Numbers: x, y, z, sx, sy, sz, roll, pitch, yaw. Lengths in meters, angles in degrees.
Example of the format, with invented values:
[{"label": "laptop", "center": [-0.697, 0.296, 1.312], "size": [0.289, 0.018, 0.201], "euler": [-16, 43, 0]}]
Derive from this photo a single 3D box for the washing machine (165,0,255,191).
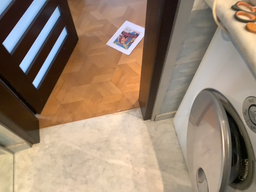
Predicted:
[{"label": "washing machine", "center": [0.490, 0.160, 0.840], "size": [0.400, 0.890, 0.580], "euler": [-10, 62, -5]}]
